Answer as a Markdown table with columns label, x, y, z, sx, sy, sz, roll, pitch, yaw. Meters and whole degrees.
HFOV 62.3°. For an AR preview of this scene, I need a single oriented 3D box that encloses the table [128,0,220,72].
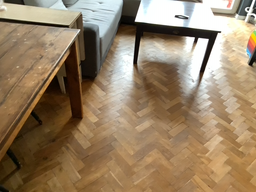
| label | x | y | z | sx | sy | sz | roll | pitch | yaw |
| --- | --- | --- | --- | --- | --- | --- | --- | --- | --- |
| table | 0.540 | -0.840 | 2.730 | 0.920 | 0.530 | 0.920 | 8 | 41 | 4 |
